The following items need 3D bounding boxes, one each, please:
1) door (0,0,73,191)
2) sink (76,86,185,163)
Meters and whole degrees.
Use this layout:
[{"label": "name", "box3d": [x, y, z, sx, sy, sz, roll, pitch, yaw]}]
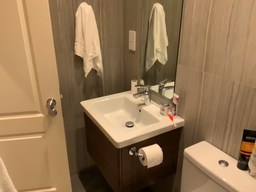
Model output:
[{"label": "door", "box3d": [-0.820, -0.010, 1.360, 0.740, 1.950, 0.050, -3, 23, -9]}, {"label": "sink", "box3d": [-0.020, 0.140, 1.500, 0.480, 0.140, 0.660, -13, 27, -29]}]
